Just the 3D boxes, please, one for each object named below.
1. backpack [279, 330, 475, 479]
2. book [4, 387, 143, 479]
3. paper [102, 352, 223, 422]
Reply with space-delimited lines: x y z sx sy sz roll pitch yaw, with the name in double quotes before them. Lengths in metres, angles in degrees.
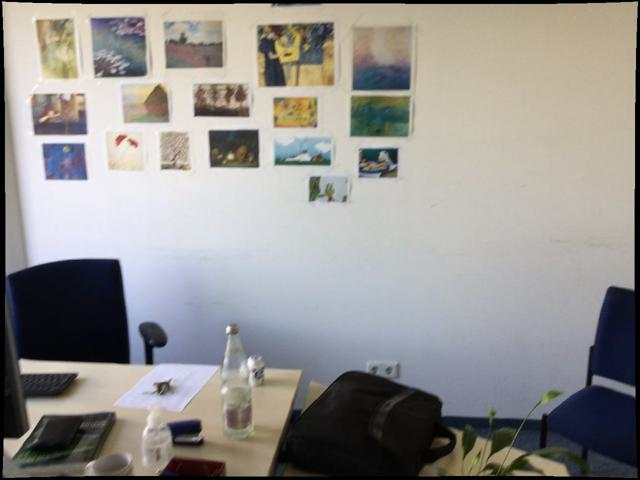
"backpack" 0.160 0.420 1.510 0.350 0.160 0.400 9 19 34
"book" -0.609 0.480 1.470 0.240 0.060 0.280 -3 16 -2
"paper" -0.460 0.430 1.730 0.240 0.040 0.300 1 16 11
